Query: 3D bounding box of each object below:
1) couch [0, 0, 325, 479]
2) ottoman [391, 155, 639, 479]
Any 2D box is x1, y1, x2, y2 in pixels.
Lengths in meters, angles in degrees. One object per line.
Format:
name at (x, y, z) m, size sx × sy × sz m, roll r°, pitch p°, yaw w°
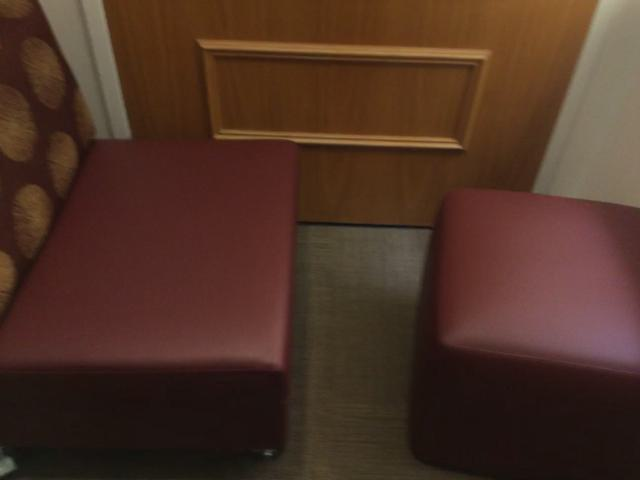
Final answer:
couch at (-0.420, -0.040, 1.180) m, size 0.790 × 0.700 × 0.720 m, roll 4°, pitch 41°, yaw 0°
ottoman at (0.490, 0.200, 1.290) m, size 0.560 × 0.480 × 0.560 m, roll 9°, pitch 41°, yaw 5°
